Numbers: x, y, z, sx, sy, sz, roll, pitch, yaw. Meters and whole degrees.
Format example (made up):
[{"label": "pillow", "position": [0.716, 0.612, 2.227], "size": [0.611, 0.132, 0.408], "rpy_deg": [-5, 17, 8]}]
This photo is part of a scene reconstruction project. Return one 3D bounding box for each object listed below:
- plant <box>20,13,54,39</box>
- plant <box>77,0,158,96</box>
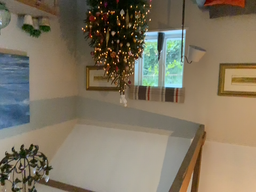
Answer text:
[{"label": "plant", "position": [-1.350, -1.030, 3.160], "size": [0.230, 0.280, 0.410], "rpy_deg": [4, -174, 24]}, {"label": "plant", "position": [-0.240, -1.050, 3.470], "size": [0.990, 1.980, 1.100], "rpy_deg": [-1, -174, -22]}]
